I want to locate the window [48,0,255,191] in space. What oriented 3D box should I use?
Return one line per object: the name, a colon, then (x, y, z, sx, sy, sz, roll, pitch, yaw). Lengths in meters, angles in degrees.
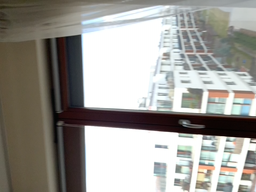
window: (0.350, 0.270, 1.450, 0.180, 1.640, 1.760, -61, -27, -71)
